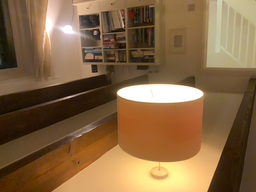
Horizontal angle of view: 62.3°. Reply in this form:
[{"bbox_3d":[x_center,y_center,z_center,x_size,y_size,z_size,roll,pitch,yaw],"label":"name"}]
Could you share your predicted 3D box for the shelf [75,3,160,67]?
[{"bbox_3d":[-0.210,-0.950,3.470,1.460,0.870,0.240,6,-164,31],"label":"shelf"}]
